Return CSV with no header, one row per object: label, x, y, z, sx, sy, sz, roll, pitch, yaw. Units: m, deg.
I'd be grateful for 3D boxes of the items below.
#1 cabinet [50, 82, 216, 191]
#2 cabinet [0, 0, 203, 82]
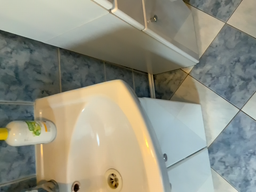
cabinet,0.110,0.260,0.910,0.300,0.810,0.490,-9,80,31
cabinet,-0.230,-0.350,0.490,0.310,1.920,0.330,-9,80,31
